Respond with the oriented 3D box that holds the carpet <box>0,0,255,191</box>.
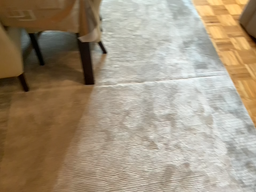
[{"bbox_3d":[-0.070,-0.090,1.600,1.920,0.040,2.910,-4,58,-7],"label":"carpet"}]
